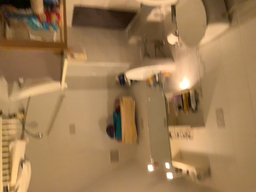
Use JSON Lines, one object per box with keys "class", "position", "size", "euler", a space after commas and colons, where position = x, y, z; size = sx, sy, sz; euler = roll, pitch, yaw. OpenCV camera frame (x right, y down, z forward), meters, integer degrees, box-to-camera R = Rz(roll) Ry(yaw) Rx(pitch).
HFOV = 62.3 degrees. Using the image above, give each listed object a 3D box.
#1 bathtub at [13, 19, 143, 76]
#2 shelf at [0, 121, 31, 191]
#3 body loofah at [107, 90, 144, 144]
{"class": "bathtub", "position": [-0.720, -0.670, 3.210], "size": [1.700, 0.560, 0.700], "euler": [-2, 172, -19]}
{"class": "shelf", "position": [-1.030, 0.610, 1.900], "size": [0.220, 0.730, 0.630], "euler": [-2, 172, -20]}
{"class": "body loofah", "position": [-0.060, 0.330, 3.350], "size": [0.400, 0.760, 0.510], "euler": [-3, 172, -17]}
